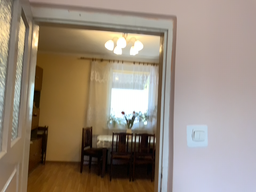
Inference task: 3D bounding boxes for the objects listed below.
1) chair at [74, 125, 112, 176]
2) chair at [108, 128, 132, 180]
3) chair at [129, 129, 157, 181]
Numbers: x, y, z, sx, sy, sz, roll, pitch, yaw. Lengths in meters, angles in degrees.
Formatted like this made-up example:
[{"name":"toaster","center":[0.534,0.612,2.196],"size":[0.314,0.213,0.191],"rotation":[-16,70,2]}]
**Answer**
[{"name":"chair","center":[-0.760,1.150,4.640],"size":[0.600,0.920,0.460],"rotation":[2,-3,29]},{"name":"chair","center":[-0.150,1.180,4.440],"size":[0.420,0.920,0.600],"rotation":[3,-2,0]},{"name":"chair","center":[0.300,1.210,4.460],"size":[0.430,0.920,0.600],"rotation":[4,-2,-5]}]
